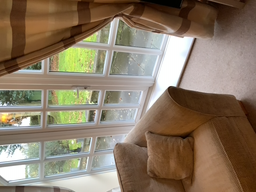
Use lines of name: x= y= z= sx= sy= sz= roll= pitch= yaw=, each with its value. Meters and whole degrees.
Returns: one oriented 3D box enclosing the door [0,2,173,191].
door: x=-0.710 y=0.210 z=2.690 sx=0.110 sy=2.250 sz=2.350 roll=-130 pitch=46 yaw=-53
